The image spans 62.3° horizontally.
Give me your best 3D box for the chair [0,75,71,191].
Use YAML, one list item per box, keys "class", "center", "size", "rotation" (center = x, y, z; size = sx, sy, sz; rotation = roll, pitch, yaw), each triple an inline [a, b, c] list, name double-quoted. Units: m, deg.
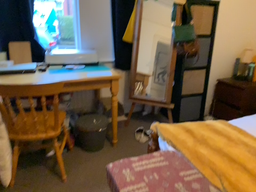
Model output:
- class: "chair"
  center: [-0.740, 0.280, 1.710]
  size: [0.450, 0.780, 0.460]
  rotation: [-5, 20, -19]
